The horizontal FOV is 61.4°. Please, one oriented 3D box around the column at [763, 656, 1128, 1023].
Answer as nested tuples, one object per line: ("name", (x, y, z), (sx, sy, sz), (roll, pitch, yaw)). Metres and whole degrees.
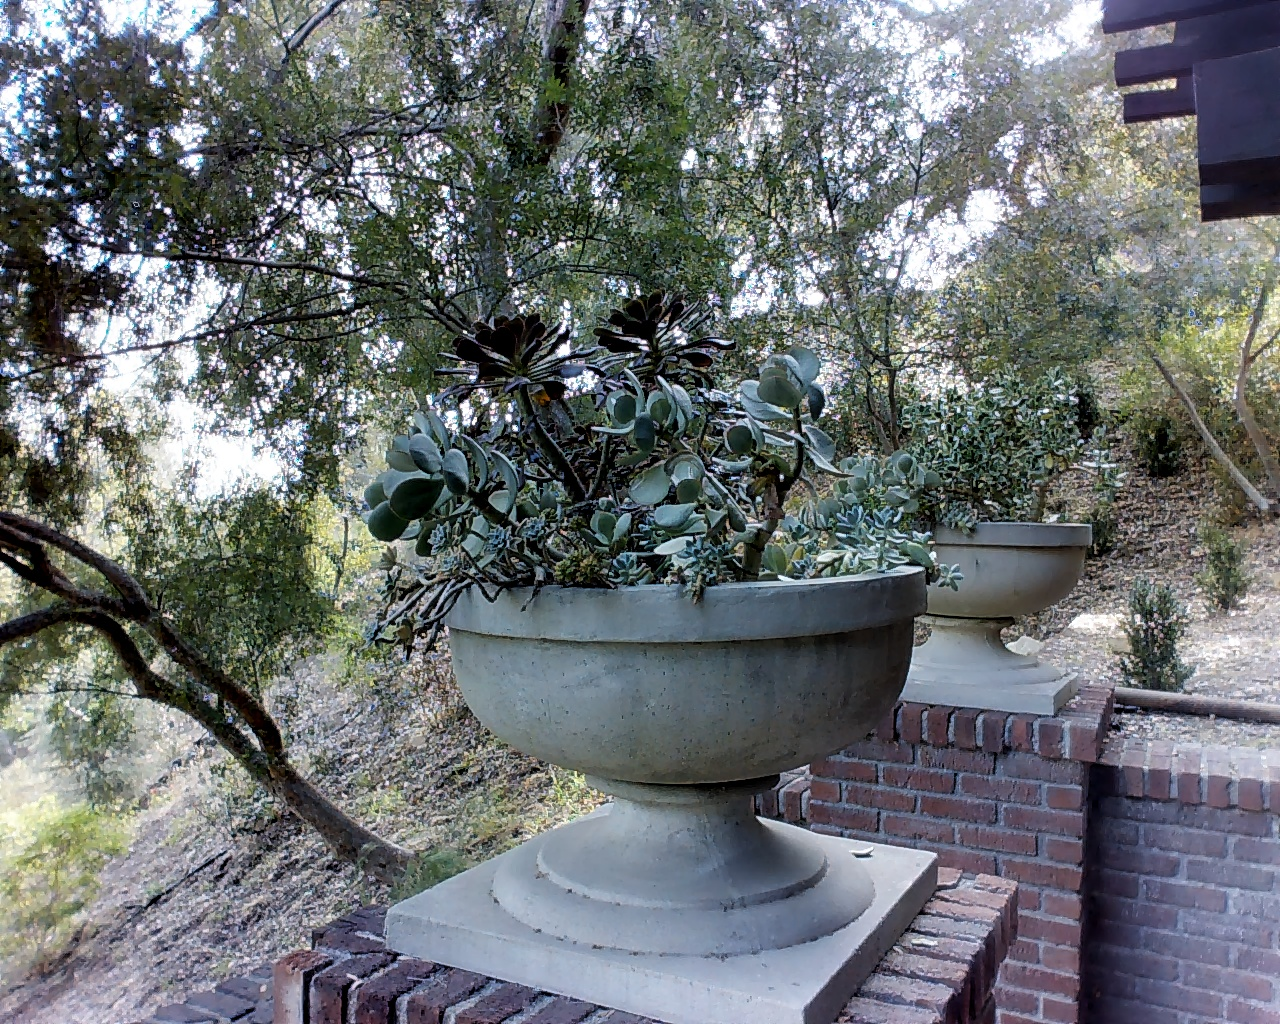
("column", (0.970, 1.060, 3.400), (0.980, 1.060, 0.640), (0, 1, 29))
